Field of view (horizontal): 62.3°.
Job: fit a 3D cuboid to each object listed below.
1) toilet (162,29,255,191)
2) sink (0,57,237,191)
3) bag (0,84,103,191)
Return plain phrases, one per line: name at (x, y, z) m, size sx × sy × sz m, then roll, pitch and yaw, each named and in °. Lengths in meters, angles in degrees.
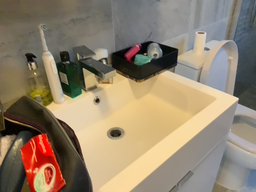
toilet at (0.590, 0.130, 1.250) m, size 0.400 × 0.850 × 0.600 m, roll -28°, pitch 41°, yaw -34°
sink at (-0.030, 0.080, 0.670) m, size 0.600 × 0.130 × 0.450 m, roll -28°, pitch 41°, yaw -34°
bag at (-0.180, 0.110, 0.370) m, size 0.140 × 0.140 × 0.260 m, roll -27°, pitch 40°, yaw -34°
